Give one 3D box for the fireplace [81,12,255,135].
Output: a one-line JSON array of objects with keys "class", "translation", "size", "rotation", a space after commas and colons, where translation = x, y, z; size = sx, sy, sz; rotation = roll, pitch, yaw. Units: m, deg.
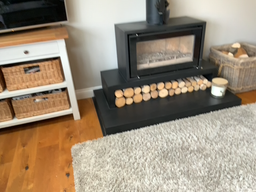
[{"class": "fireplace", "translation": [0.360, -0.320, 2.160], "size": [1.470, 0.790, 0.830], "rotation": [-10, 30, -13]}]
